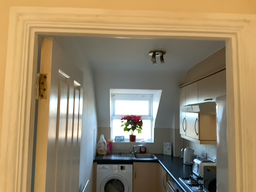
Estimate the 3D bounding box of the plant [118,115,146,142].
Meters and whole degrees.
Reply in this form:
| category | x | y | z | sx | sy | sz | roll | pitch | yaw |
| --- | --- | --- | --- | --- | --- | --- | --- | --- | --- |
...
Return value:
| category | x | y | z | sx | sy | sz | roll | pitch | yaw |
| --- | --- | --- | --- | --- | --- | --- | --- | --- | --- |
| plant | 0.080 | 0.640 | 4.280 | 0.530 | 0.520 | 0.310 | 1 | -5 | -3 |
